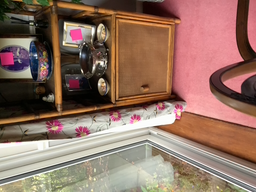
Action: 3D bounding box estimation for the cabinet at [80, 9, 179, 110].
[{"bbox_3d":[0.000,-0.280,1.720,0.490,0.610,0.630,14,106,52],"label":"cabinet"}]
